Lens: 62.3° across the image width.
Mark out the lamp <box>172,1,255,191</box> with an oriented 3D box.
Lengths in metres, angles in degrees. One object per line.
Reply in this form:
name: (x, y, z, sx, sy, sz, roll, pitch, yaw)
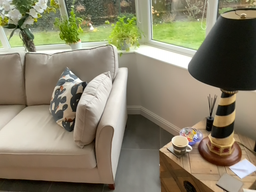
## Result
lamp: (0.550, -0.010, 1.090, 0.450, 0.790, 0.440, -25, 36, -28)
